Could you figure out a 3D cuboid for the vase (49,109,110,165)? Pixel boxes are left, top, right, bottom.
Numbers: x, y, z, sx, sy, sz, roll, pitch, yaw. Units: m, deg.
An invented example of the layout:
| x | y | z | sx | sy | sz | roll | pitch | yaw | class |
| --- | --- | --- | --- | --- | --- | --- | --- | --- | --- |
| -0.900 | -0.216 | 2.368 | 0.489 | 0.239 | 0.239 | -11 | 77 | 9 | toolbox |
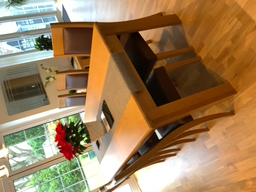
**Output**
| x | y | z | sx | sy | sz | roll | pitch | yaw | class |
| --- | --- | --- | --- | --- | --- | --- | --- | --- | --- |
| -0.480 | 0.400 | 2.080 | 0.330 | 0.460 | 0.320 | 64 | 155 | 20 | vase |
